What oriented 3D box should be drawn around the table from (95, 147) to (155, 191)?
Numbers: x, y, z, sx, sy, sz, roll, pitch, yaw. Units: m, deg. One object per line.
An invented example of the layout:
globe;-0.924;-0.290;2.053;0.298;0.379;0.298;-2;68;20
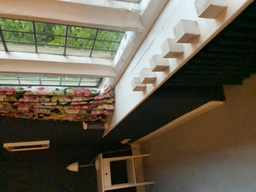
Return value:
table;-0.060;1.010;2.920;0.310;0.710;0.520;133;133;-62
